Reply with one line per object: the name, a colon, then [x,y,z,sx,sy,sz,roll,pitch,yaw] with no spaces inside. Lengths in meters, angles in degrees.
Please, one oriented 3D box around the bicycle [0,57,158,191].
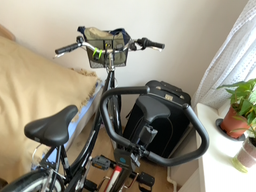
bicycle: [-0.270,0.400,1.290,0.390,0.730,1.660,26,31,3]
